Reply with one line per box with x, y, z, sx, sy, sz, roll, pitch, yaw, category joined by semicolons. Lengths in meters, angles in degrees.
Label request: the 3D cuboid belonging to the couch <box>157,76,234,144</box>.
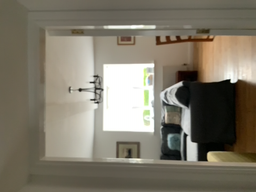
1.090;0.200;4.130;2.450;0.860;0.920;9;-99;-86;couch

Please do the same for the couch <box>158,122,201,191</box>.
1.150;1.450;4.900;0.890;0.810;1.570;11;-101;-86;couch
